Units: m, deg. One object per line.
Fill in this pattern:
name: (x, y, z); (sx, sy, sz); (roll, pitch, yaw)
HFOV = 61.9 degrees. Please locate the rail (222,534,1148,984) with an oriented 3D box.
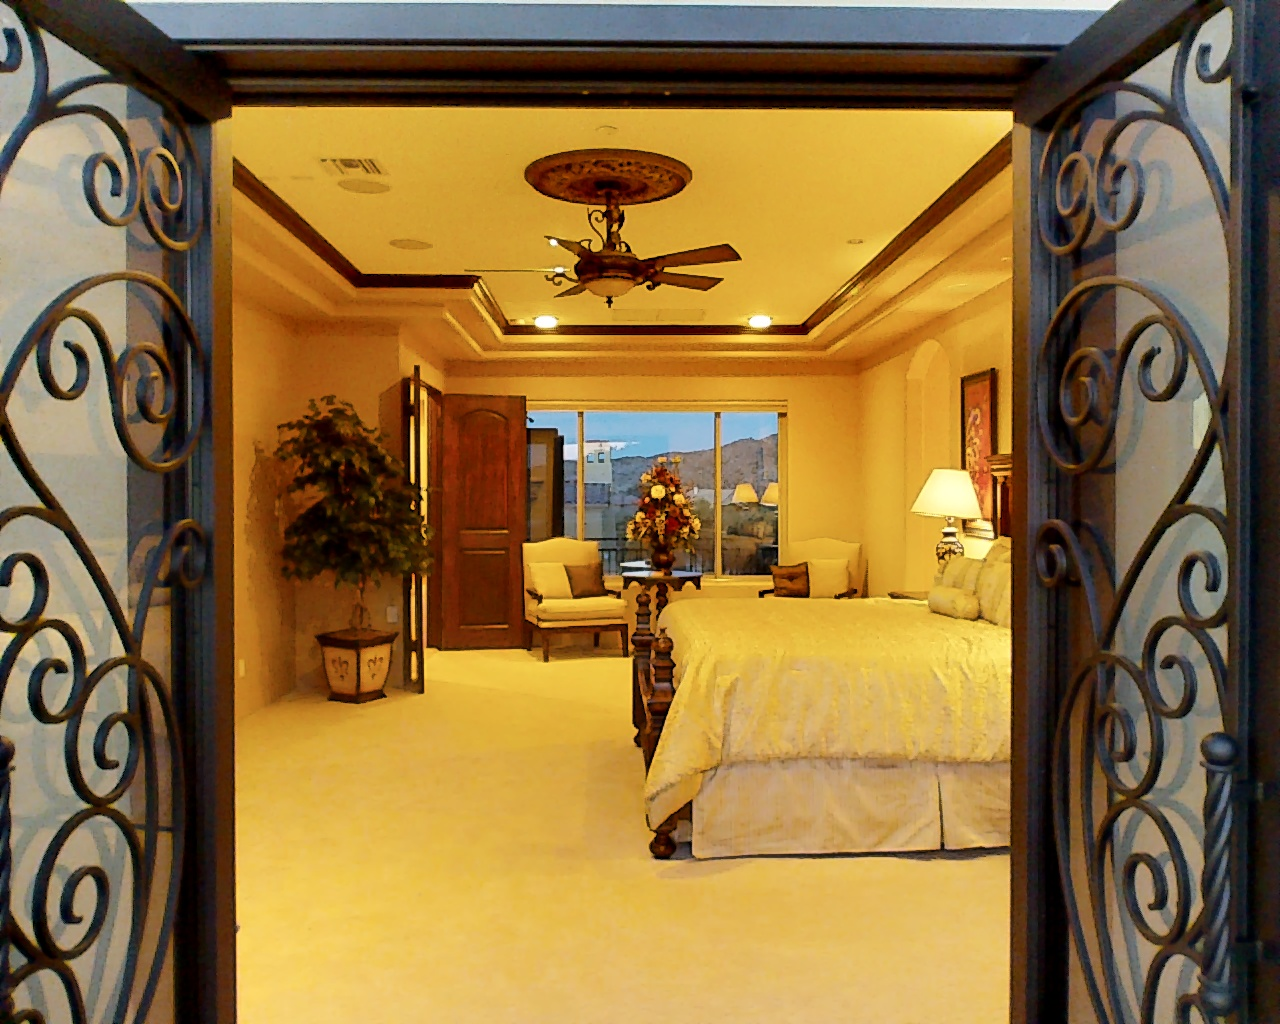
rail: (-0.500, 0.800, 6.340); (3.450, 1.200, 5.410); (0, 0, -24)

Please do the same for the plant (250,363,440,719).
plant: (-2.050, 0.190, 7.600); (1.050, 2.330, 1.190); (0, 0, -2)

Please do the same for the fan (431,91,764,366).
fan: (-0.240, -1.320, 5.290); (1.240, 0.590, 1.020); (24, -10, -22)
